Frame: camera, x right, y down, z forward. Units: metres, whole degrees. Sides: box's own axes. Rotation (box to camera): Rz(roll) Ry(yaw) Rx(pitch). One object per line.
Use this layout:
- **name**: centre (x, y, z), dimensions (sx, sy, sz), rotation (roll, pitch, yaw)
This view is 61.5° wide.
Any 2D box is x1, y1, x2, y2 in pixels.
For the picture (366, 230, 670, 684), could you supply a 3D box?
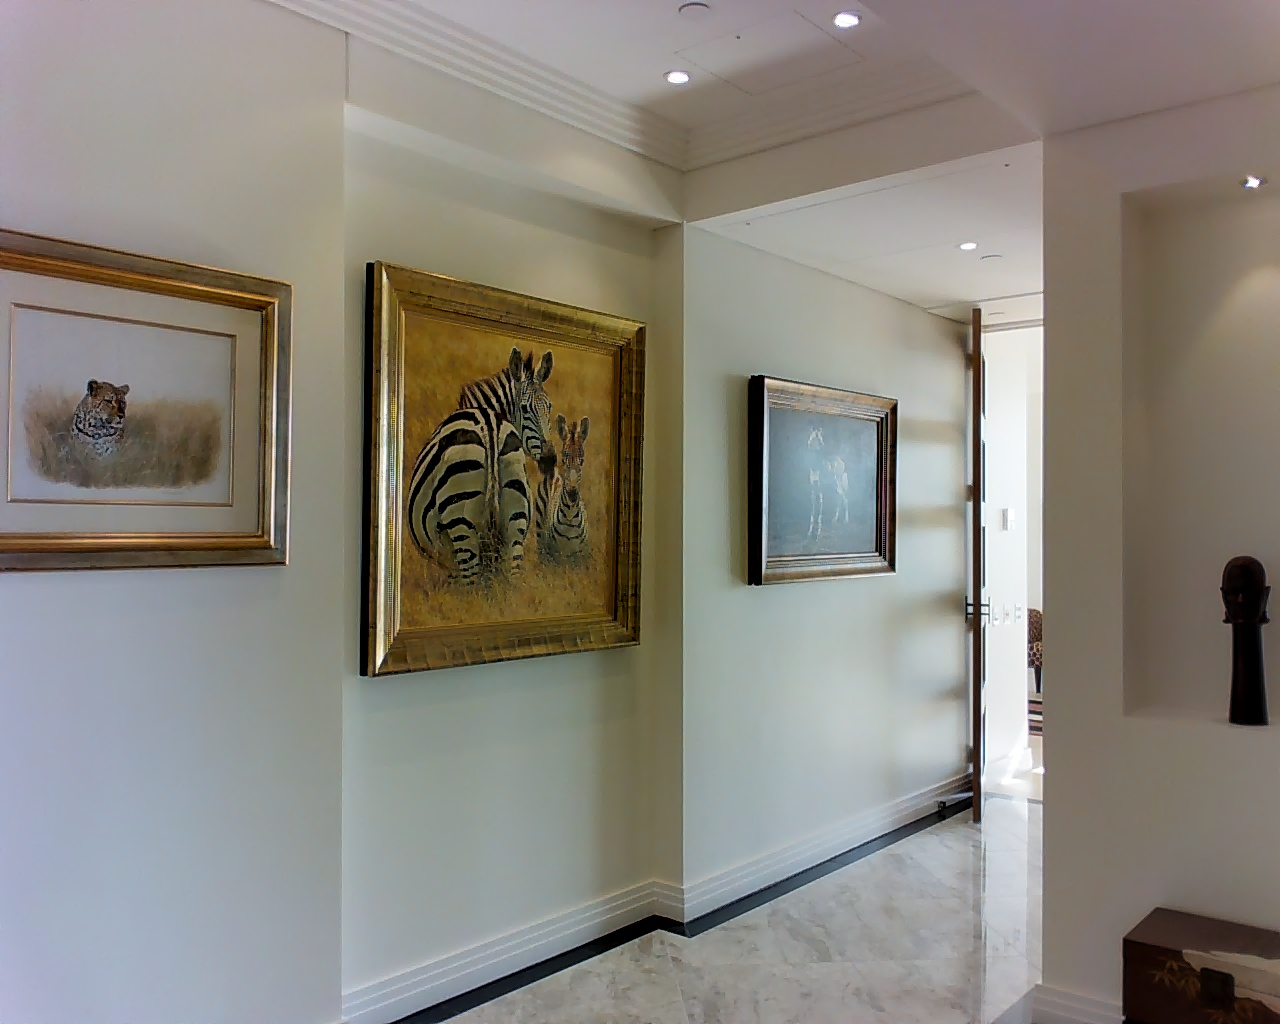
- **picture**: centre (-0.330, -0.150, 3.430), dimensions (0.120, 1.240, 1.200), rotation (0, 0, 41)

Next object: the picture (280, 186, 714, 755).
- **picture**: centre (-0.320, -0.150, 3.400), dimensions (0.050, 1.320, 1.230), rotation (0, 37, 41)

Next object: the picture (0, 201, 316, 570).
- **picture**: centre (-1.090, -0.250, 2.370), dimensions (0.050, 0.730, 0.820), rotation (0, 0, 41)
